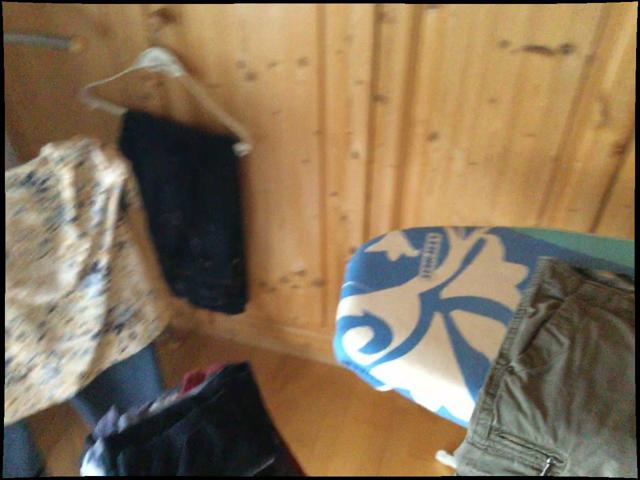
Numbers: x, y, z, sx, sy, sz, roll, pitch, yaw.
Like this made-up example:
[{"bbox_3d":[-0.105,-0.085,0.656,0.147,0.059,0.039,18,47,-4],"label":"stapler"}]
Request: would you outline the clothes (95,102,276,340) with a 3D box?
[{"bbox_3d":[-0.290,-0.020,1.390,0.290,0.580,0.140,12,46,14],"label":"clothes"}]
